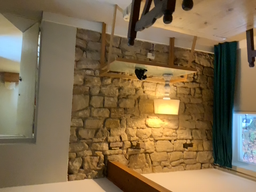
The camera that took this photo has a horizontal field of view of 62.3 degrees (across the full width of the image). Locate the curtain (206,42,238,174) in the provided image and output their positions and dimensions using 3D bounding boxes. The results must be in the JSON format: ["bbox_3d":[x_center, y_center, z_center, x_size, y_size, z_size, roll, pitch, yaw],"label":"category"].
[{"bbox_3d":[1.900,0.220,4.290,0.280,2.480,0.520,3,176,-29],"label":"curtain"}]
